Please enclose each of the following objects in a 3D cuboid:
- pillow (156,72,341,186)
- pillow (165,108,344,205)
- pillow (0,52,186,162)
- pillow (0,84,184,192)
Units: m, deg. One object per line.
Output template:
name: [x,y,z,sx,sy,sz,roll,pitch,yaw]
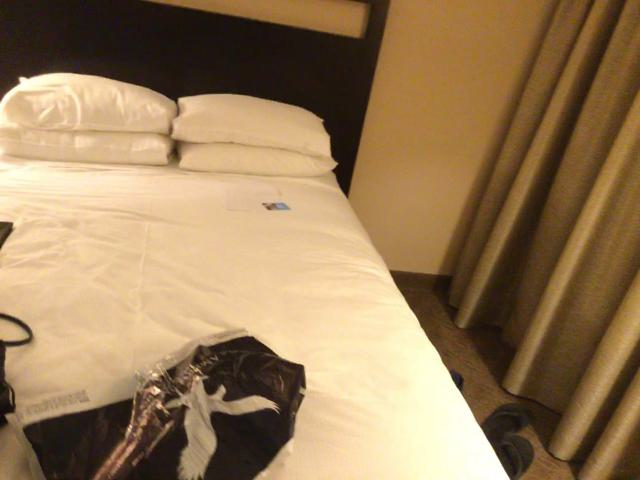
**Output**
pillow: [-0.280,-0.440,2.250,0.630,0.220,0.400,10,22,-13]
pillow: [-0.250,-0.320,2.210,0.620,0.180,0.270,10,22,-13]
pillow: [-0.840,-0.500,2.150,0.620,0.200,0.370,10,22,-13]
pillow: [-0.870,-0.390,2.170,0.660,0.170,0.400,10,22,-13]
